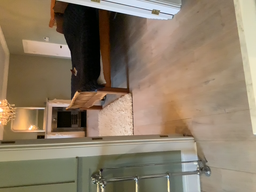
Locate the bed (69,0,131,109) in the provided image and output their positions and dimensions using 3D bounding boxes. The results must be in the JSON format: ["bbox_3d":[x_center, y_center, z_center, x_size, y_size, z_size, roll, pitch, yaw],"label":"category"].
[{"bbox_3d":[-0.820,-0.990,5.030,2.290,0.840,2.320,154,116,-65],"label":"bed"}]
